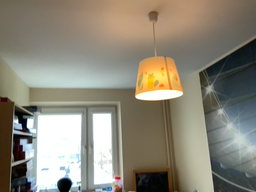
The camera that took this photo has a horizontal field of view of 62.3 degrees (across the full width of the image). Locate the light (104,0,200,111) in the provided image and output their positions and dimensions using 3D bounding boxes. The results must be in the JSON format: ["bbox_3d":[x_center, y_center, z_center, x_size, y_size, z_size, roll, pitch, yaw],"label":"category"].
[{"bbox_3d":[0.210,-0.300,1.590,0.350,0.700,0.420,27,0,23],"label":"light"}]

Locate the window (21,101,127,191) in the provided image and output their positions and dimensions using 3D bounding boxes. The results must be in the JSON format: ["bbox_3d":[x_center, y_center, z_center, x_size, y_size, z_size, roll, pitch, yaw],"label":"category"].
[{"bbox_3d":[-0.870,0.850,3.630,1.660,1.530,0.160,0,-12,-14],"label":"window"}]
